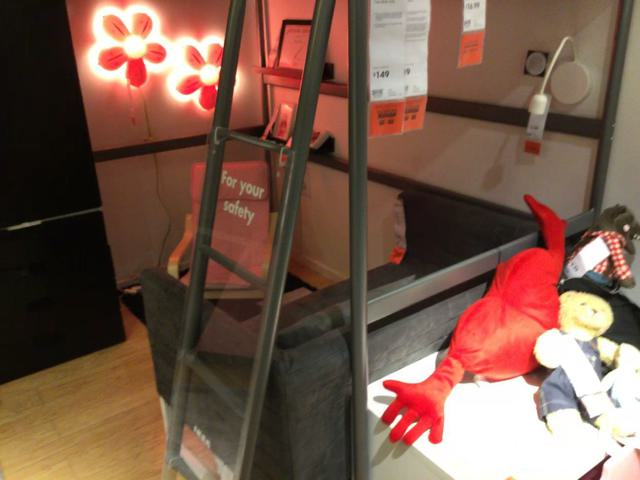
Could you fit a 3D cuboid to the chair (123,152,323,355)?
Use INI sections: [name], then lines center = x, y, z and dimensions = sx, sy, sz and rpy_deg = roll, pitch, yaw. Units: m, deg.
[chair]
center = -0.460, 0.010, 2.770
dimensions = 0.650, 0.650, 0.690
rpy_deg = -16, 28, -35
